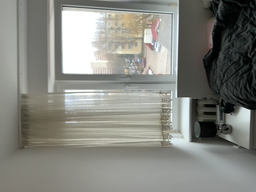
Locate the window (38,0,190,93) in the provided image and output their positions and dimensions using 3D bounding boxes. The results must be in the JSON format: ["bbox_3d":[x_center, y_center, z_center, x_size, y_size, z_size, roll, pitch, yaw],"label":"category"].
[{"bbox_3d":[-0.130,-0.590,2.310,0.180,1.590,1.110,179,91,-84],"label":"window"}]

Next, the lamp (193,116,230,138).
[{"bbox_3d":[0.810,0.300,2.080,0.190,0.280,0.180,-150,61,-83],"label":"lamp"}]
